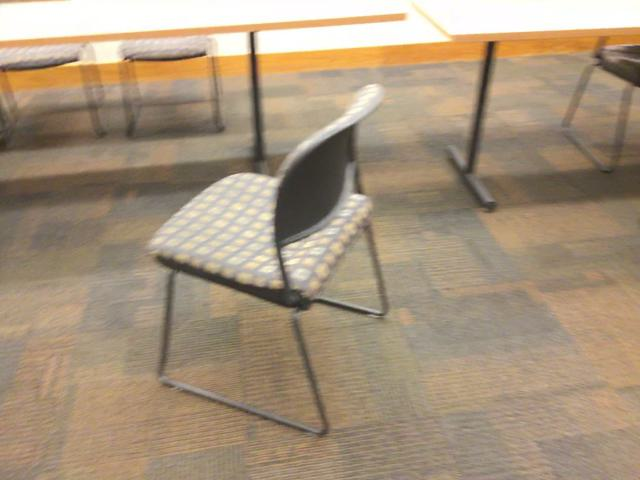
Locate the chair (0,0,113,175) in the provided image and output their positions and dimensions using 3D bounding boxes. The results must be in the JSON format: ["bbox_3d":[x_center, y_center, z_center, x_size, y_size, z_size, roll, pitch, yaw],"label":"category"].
[{"bbox_3d":[-1.290,-0.820,2.560,0.460,0.810,0.710,-5,34,-7],"label":"chair"}]

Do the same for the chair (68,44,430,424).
[{"bbox_3d":[-0.130,-0.060,1.450,0.590,0.650,0.540,16,37,24],"label":"chair"}]
